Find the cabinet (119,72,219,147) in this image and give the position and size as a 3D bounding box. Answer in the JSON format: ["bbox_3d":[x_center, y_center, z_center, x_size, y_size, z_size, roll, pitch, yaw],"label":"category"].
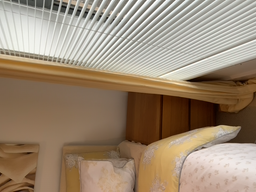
[{"bbox_3d":[0.300,0.140,1.720,0.610,0.520,0.470,165,109,-64],"label":"cabinet"}]

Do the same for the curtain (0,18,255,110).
[{"bbox_3d":[-0.350,-0.160,1.230,0.580,2.460,0.250,-176,92,-66],"label":"curtain"}]
